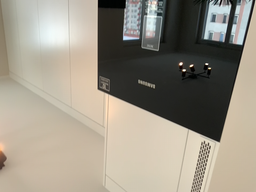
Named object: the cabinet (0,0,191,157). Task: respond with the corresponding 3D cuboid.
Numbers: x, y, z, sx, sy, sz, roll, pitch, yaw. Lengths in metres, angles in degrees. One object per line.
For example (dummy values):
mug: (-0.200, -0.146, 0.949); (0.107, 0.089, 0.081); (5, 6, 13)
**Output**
cabinet: (-0.690, -0.510, 2.280); (2.620, 1.100, 0.390); (23, -153, 40)
